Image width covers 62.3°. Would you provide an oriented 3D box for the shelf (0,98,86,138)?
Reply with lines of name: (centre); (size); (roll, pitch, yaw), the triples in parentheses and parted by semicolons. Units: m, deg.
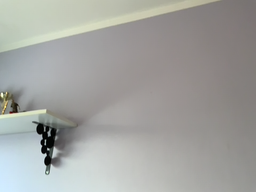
shelf: (-0.820, 0.180, 1.270); (1.090, 0.060, 0.350); (-9, -24, 19)
